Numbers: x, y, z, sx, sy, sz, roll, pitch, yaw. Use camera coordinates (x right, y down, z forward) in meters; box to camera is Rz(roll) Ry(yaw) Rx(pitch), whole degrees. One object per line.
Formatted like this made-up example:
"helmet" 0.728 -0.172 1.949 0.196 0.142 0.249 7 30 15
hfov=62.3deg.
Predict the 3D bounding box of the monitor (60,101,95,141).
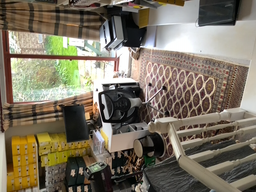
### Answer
"monitor" -0.890 0.420 3.720 0.060 0.490 0.660 -48 52 52
